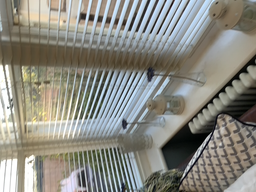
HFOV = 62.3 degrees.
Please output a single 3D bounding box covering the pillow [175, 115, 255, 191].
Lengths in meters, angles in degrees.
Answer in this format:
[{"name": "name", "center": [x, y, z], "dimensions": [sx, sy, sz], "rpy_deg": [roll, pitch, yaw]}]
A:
[{"name": "pillow", "center": [0.420, 0.290, 0.810], "dimensions": [0.460, 0.380, 0.160], "rpy_deg": [65, -174, -47]}]
